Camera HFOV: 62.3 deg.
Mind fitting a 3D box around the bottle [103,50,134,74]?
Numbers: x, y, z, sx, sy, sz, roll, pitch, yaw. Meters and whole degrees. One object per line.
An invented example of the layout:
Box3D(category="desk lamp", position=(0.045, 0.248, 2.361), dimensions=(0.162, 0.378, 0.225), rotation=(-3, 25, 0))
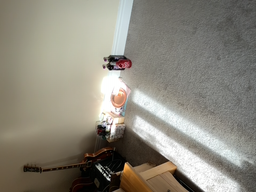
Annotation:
Box3D(category="bottle", position=(-0.100, -0.350, 2.180), dimensions=(0.190, 0.210, 0.200), rotation=(31, 117, 45))
